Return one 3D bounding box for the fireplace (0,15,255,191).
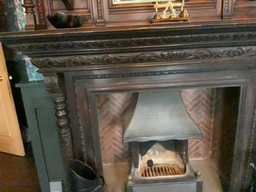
[{"bbox_3d":[0.270,0.200,1.420,1.690,1.300,1.130,-3,17,-1],"label":"fireplace"}]
